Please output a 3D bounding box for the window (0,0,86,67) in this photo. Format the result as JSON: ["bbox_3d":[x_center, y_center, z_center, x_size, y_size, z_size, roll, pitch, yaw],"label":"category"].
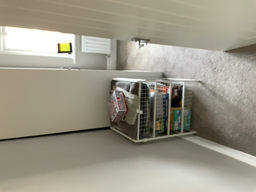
[{"bbox_3d":[-1.420,-1.140,2.930,0.400,1.590,1.410,7,98,59],"label":"window"}]

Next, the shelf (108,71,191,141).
[{"bbox_3d":[0.200,0.050,2.100,0.470,0.640,0.570,13,103,58],"label":"shelf"}]
